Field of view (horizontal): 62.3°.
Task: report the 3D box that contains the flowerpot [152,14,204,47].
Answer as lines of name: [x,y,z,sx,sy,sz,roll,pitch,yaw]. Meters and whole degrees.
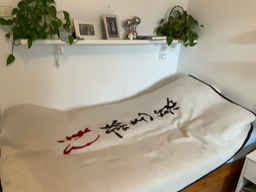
flowerpot: [0.500,-0.660,2.140,0.420,0.290,0.250,-9,24,-31]

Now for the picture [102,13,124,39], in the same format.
picture: [-0.130,-0.600,1.830,0.170,0.210,0.050,-8,24,-30]
